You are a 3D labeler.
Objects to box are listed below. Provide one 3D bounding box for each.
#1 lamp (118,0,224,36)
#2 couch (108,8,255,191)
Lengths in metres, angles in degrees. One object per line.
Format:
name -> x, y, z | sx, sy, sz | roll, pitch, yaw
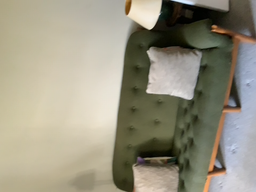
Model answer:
lamp -> 0.390, -0.820, 1.990 | 0.390, 0.860, 0.370 | -142, 57, -66
couch -> 0.400, 0.250, 1.990 | 0.890, 0.800, 1.780 | -142, 57, -66
